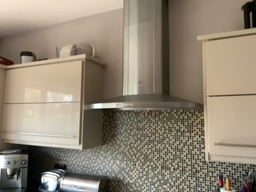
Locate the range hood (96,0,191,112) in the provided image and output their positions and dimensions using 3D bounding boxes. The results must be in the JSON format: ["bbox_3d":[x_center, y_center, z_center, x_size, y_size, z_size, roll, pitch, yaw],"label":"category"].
[{"bbox_3d":[0.120,-0.370,1.780,0.730,1.000,0.260,-2,-6,27],"label":"range hood"}]
